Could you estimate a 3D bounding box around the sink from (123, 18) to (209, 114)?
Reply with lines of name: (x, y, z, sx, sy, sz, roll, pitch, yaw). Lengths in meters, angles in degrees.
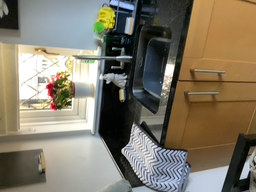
sink: (0.180, -0.190, 1.220, 0.390, 0.230, 0.450, -139, 53, -58)
